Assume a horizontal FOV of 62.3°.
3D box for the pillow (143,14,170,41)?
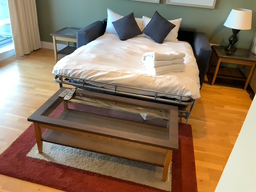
[{"bbox_3d":[0.450,-1.080,3.350,0.360,0.320,0.180,12,38,13],"label":"pillow"}]
